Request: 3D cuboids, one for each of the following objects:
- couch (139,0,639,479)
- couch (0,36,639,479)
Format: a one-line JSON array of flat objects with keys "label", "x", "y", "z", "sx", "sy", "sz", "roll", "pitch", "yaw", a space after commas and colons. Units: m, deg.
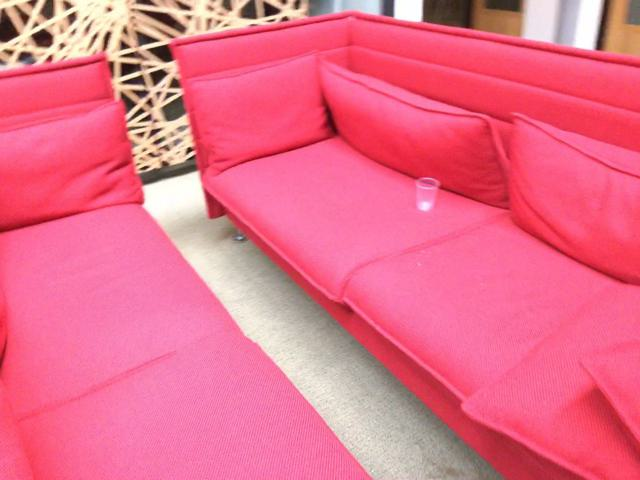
[{"label": "couch", "x": 0.360, "y": -0.140, "z": 1.820, "sx": 0.980, "sy": 0.880, "sz": 2.490, "roll": -21, "pitch": 32, "yaw": -24}, {"label": "couch", "x": -0.540, "y": 0.210, "z": 1.310, "sx": 0.930, "sy": 0.880, "sz": 2.450, "roll": -21, "pitch": 32, "yaw": -24}]
